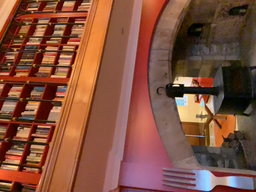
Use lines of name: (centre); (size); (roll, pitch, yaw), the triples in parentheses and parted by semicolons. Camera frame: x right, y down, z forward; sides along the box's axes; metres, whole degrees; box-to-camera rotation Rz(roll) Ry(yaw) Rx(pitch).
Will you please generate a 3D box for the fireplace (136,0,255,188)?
fireplace: (1.360, -0.260, 3.840); (1.540, 1.950, 3.260); (72, -157, -62)
